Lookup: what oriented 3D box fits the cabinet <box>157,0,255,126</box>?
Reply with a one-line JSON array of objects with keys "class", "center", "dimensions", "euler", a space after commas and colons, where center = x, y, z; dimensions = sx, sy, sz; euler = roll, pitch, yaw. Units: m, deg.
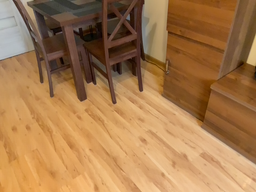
[{"class": "cabinet", "center": [0.580, -0.750, 1.350], "dimensions": [0.430, 1.990, 0.530], "euler": [-27, 45, -28]}]

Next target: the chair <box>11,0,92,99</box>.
[{"class": "chair", "center": [-0.690, -0.510, 1.990], "dimensions": [0.440, 0.910, 0.400], "euler": [-24, 43, -25]}]

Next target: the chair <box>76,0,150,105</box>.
[{"class": "chair", "center": [-0.120, -0.470, 1.900], "dimensions": [0.400, 0.930, 0.470], "euler": [-25, 44, -26]}]
